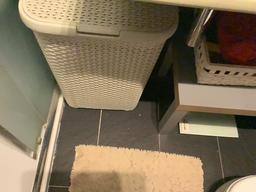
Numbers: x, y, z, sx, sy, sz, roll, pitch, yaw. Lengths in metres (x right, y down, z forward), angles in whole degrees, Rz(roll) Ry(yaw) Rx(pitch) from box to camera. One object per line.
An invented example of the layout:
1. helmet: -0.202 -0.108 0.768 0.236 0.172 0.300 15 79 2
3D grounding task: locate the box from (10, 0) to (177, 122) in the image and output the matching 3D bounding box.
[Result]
1. box: -0.110 -0.160 0.890 0.430 0.610 0.310 6 62 -5
